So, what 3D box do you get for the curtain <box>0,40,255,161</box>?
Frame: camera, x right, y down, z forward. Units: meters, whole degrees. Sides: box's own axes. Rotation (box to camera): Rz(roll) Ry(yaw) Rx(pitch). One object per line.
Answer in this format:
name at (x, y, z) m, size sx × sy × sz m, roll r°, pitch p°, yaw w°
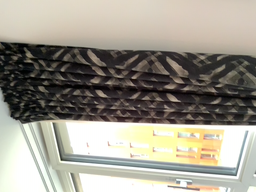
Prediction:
curtain at (0.510, 0.010, 0.860) m, size 0.300 × 2.490 × 0.390 m, roll -68°, pitch -20°, yaw -65°
